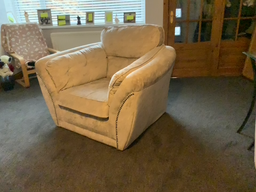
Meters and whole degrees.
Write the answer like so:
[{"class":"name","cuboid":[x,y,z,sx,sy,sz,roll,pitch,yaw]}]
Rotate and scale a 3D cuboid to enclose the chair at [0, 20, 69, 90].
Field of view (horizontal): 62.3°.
[{"class":"chair","cuboid":[-1.600,-0.750,3.570,0.730,0.930,0.890,-22,30,-38]}]
